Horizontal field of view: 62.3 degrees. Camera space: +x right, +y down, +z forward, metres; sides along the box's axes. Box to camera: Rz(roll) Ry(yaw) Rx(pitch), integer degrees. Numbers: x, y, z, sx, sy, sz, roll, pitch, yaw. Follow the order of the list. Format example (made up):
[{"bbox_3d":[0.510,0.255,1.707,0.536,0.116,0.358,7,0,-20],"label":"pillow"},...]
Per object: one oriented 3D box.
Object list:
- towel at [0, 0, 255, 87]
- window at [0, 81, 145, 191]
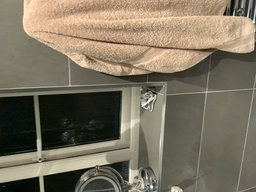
[{"bbox_3d":[-0.080,-0.250,0.640,0.180,1.300,0.400,-154,63,-65],"label":"towel"},{"bbox_3d":[-0.390,0.360,0.990,0.060,0.980,0.820,-152,61,-65],"label":"window"}]
